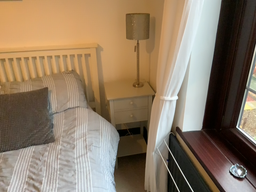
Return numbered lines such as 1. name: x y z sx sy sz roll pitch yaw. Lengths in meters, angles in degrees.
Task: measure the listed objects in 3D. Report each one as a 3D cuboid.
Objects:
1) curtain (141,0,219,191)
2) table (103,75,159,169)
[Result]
1. curtain: 0.230 -0.200 1.180 0.150 2.450 0.550 -5 26 -9
2. table: 0.010 0.240 2.080 0.430 0.760 0.430 -6 26 -10
